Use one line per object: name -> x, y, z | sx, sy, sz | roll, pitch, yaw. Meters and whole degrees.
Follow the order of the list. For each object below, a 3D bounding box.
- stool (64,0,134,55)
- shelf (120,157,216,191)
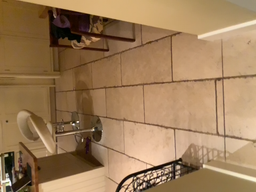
stool -> -0.340, -0.730, 2.340 | 0.640, 0.520, 0.420 | 2, 93, 54
shelf -> 0.290, 0.760, 1.520 | 0.390, 0.570, 0.440 | 3, 94, 54
